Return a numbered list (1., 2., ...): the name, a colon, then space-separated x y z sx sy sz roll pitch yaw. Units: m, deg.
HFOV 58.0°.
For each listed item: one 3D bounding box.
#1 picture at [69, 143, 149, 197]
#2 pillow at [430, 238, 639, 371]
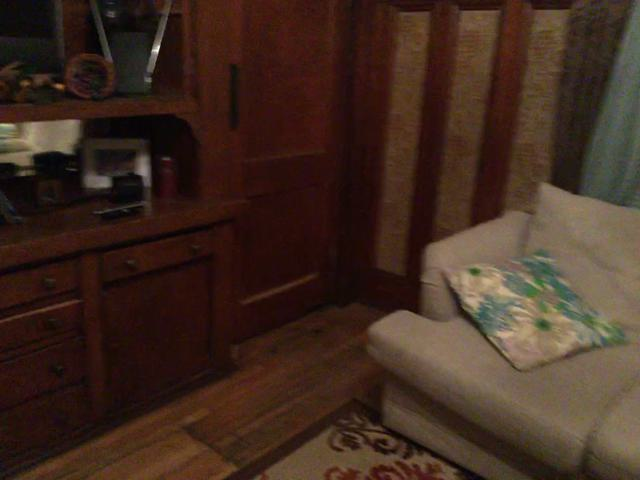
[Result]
1. picture: -0.870 -0.290 2.400 0.290 0.210 0.090 -1 16 -13
2. pillow: 0.740 0.190 1.990 0.520 0.240 0.460 -6 17 -26
